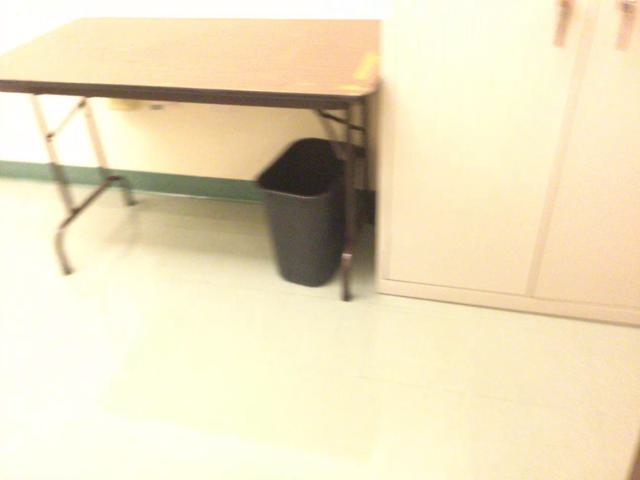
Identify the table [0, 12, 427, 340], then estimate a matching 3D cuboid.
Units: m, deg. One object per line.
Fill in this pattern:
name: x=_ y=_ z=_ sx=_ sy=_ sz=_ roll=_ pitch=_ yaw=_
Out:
table: x=-0.300 y=-0.270 z=1.890 sx=1.160 sy=0.760 sz=0.640 roll=7 pitch=35 yaw=18
